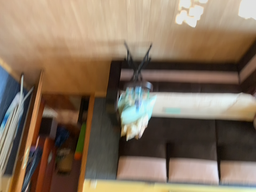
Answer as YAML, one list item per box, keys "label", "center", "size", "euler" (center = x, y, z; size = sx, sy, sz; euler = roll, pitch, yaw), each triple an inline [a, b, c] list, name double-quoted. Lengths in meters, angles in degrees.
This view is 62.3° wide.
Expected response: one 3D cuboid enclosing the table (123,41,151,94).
- label: "table"
  center: [0.090, -0.290, 2.180]
  size: [0.260, 0.460, 0.260]
  euler: [3, 158, 0]
